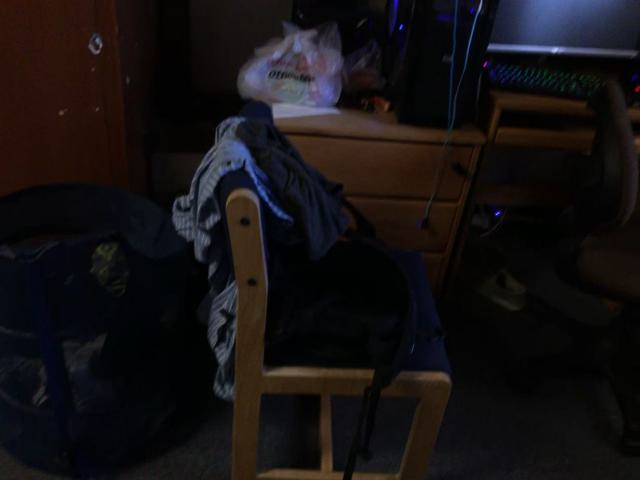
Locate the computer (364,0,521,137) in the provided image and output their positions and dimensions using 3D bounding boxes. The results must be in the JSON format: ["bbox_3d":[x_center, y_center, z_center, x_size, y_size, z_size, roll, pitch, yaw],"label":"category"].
[{"bbox_3d":[0.340,-0.690,1.670,0.260,0.600,0.510,2,35,-8],"label":"computer"}]

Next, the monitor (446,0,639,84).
[{"bbox_3d":[0.760,-0.750,1.840,0.600,0.410,0.180,2,35,-8],"label":"monitor"}]

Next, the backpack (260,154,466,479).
[{"bbox_3d":[0.040,0.160,1.370,0.330,0.500,0.570,2,35,-8],"label":"backpack"}]
